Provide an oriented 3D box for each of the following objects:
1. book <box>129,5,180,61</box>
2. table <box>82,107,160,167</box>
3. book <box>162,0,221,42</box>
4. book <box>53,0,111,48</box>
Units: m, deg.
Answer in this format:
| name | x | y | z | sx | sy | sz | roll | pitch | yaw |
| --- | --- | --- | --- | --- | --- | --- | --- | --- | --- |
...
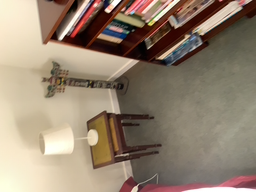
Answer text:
| name | x | y | z | sx | sy | sz | roll | pitch | yaw |
| --- | --- | --- | --- | --- | --- | --- | --- | --- | --- |
| book | 0.170 | -0.410 | 1.430 | 0.250 | 0.160 | 0.230 | -32 | 63 | 43 |
| table | -0.060 | 0.340 | 1.810 | 0.330 | 0.500 | 0.400 | -30 | 65 | 43 |
| book | 0.370 | -0.490 | 1.260 | 0.230 | 0.180 | 0.200 | -31 | 64 | 43 |
| book | -0.240 | -0.440 | 1.060 | 0.230 | 0.160 | 0.280 | -33 | 63 | 42 |
